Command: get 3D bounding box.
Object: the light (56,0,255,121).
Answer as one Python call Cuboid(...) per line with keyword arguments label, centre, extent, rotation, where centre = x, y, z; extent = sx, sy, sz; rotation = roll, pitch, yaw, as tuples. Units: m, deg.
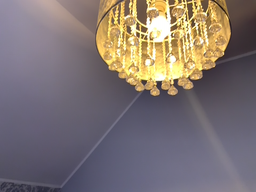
Cuboid(label="light", centre=(0.110, -0.410, 0.770), extent=(0.460, 0.560, 0.750), rotation=(-43, 44, 21))
